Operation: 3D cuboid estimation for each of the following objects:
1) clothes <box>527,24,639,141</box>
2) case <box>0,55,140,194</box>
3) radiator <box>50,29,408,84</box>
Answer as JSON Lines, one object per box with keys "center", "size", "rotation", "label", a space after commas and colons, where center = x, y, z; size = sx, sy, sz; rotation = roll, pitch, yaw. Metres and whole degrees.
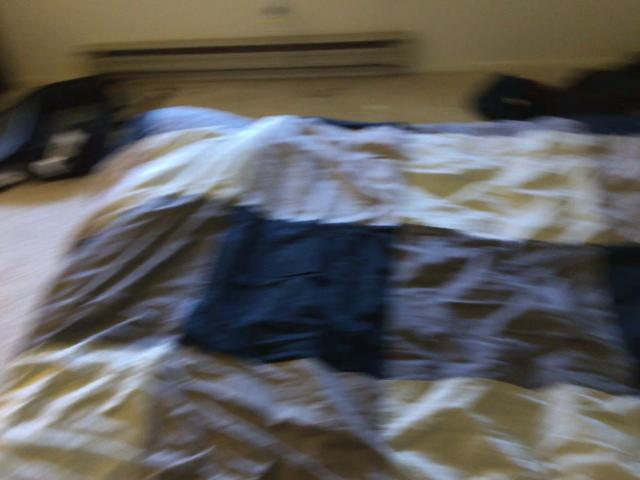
{"center": [1.240, -0.650, 2.330], "size": [0.640, 0.190, 0.600], "rotation": [1, 44, 5], "label": "clothes"}
{"center": [-1.200, -0.490, 2.410], "size": [0.760, 0.190, 0.690], "rotation": [-6, 43, -2], "label": "case"}
{"center": [-0.420, -0.850, 2.690], "size": [1.630, 0.200, 0.100], "rotation": [1, 44, 5], "label": "radiator"}
